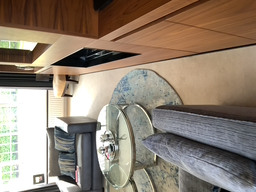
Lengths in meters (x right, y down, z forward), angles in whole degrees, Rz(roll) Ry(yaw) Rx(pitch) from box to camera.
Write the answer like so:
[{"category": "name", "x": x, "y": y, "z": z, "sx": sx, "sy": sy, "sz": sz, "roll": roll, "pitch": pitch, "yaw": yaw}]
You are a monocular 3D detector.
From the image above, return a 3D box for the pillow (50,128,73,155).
[{"category": "pillow", "x": -1.200, "y": 0.810, "z": 3.820, "sx": 0.440, "sy": 0.130, "sz": 0.420, "roll": -3, "pitch": 90, "yaw": 32}]

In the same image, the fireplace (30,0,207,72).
[{"category": "fireplace", "x": -0.350, "y": -0.660, "z": 2.350, "sx": 2.010, "sy": 1.140, "sz": 0.640, "roll": 6, "pitch": 95, "yaw": 60}]

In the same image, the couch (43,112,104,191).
[{"category": "couch", "x": -1.050, "y": 1.020, "z": 3.910, "sx": 1.160, "sy": 0.780, "sz": 1.330, "roll": 0, "pitch": 90, "yaw": 59}]
